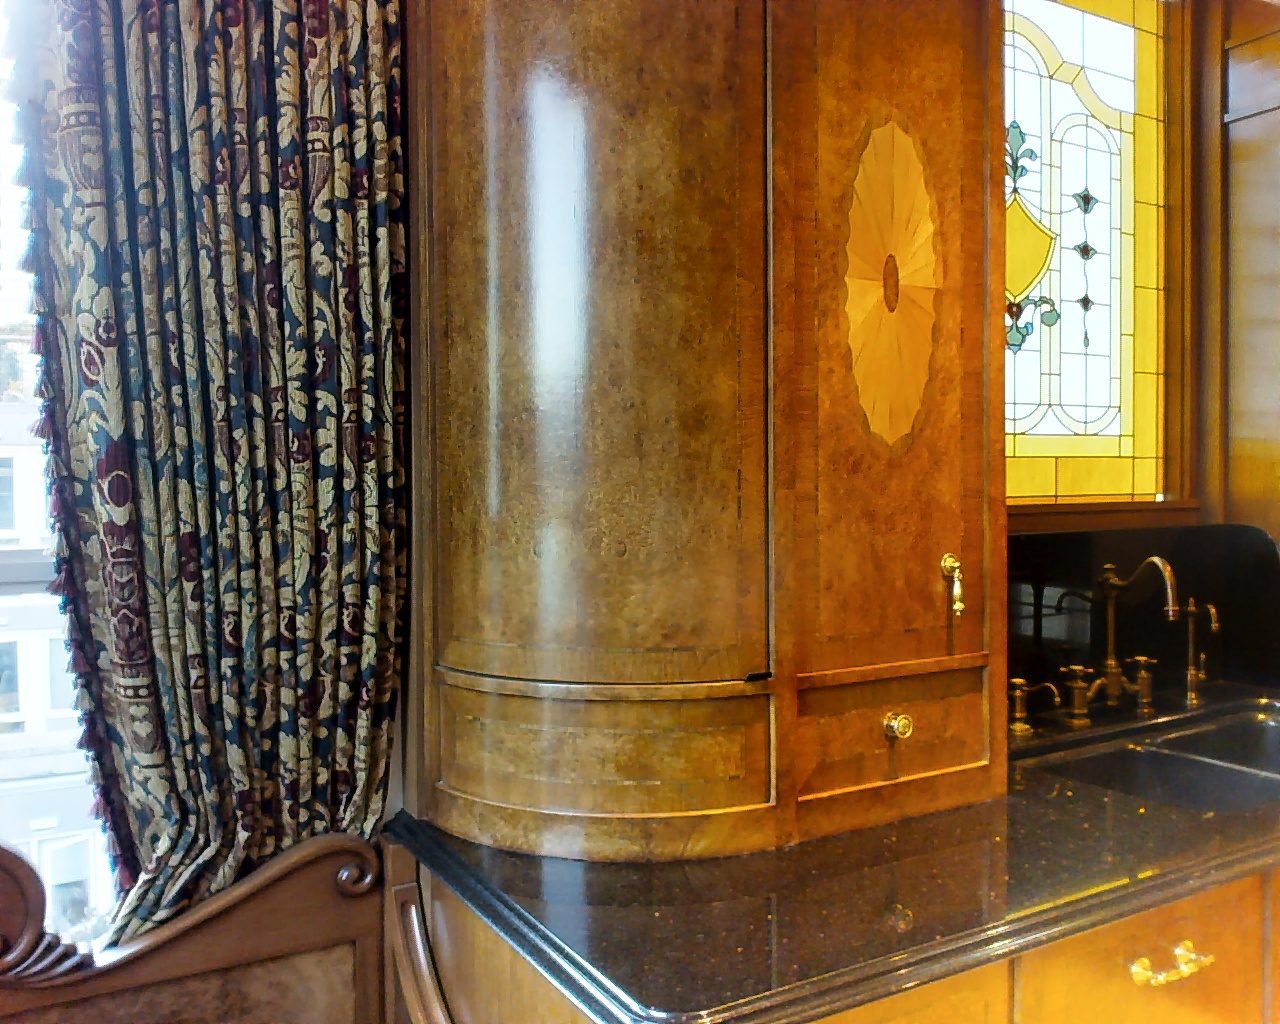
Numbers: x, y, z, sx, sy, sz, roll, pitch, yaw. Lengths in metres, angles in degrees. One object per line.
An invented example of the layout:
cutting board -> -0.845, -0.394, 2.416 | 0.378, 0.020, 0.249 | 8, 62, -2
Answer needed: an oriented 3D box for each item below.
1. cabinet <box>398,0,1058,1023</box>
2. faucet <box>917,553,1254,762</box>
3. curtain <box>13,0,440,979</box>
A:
cabinet -> 0.140, -0.260, 1.620 | 0.870, 1.720, 0.470 | -2, 2, -30
faucet -> 0.930, 0.270, 2.190 | 0.840, 0.330, 0.150 | -2, 2, -30
curtain -> -0.530, -0.300, 1.420 | 0.500, 1.710, 0.070 | -2, 2, -30
